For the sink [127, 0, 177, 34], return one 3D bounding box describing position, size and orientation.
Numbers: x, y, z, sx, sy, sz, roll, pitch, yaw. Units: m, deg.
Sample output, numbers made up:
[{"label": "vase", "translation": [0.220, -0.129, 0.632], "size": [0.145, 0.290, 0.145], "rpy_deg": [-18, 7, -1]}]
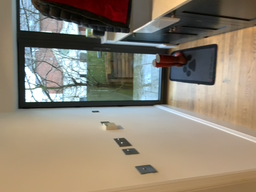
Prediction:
[{"label": "sink", "translation": [0.190, -0.910, 1.860], "size": [0.540, 0.230, 0.610], "rpy_deg": [-162, 73, -71]}]
